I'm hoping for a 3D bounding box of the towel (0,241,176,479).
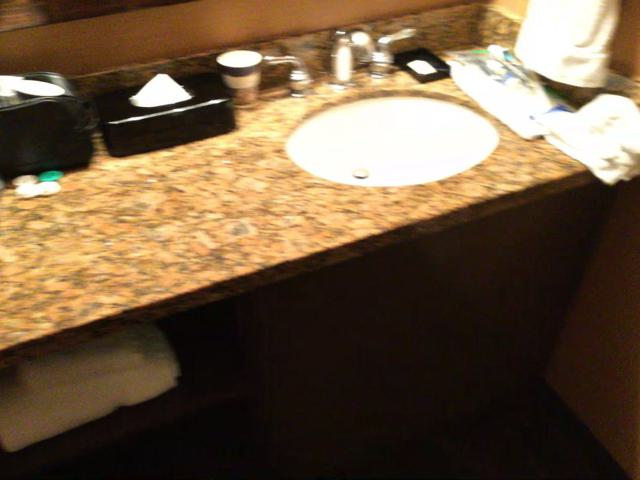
[{"bbox_3d":[-0.450,0.190,1.020,0.270,0.160,0.340,-20,37,-20],"label":"towel"}]
